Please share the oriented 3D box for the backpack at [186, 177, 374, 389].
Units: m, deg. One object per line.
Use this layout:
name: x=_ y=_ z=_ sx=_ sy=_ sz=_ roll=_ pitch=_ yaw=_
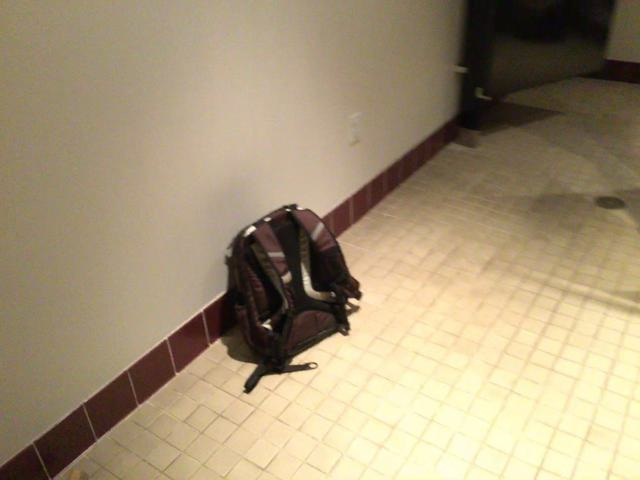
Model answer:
backpack: x=-0.110 y=0.120 z=1.910 sx=0.360 sy=0.450 sz=0.440 roll=23 pitch=41 yaw=39
